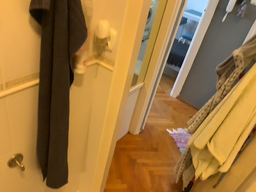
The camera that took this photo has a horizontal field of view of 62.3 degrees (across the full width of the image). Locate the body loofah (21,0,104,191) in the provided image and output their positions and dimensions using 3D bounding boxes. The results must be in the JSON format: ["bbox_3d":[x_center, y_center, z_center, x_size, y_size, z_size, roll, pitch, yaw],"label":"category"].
[{"bbox_3d":[-0.250,0.030,0.810,0.100,1.070,0.220,27,36,18],"label":"body loofah"}]

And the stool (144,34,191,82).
[{"bbox_3d":[0.650,-0.640,3.410,0.470,0.380,0.800,23,35,12],"label":"stool"}]

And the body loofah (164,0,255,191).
[{"bbox_3d":[0.500,0.030,1.110,0.210,1.040,0.530,21,35,10],"label":"body loofah"}]
